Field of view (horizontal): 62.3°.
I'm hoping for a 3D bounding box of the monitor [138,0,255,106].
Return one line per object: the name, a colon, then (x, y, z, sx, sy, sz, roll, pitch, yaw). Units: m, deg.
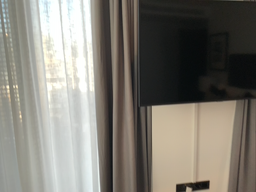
monitor: (0.620, -0.290, 1.400, 1.120, 0.650, 0.050, -3, 12, -10)
